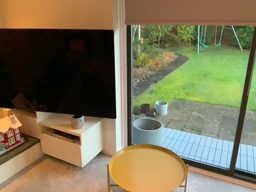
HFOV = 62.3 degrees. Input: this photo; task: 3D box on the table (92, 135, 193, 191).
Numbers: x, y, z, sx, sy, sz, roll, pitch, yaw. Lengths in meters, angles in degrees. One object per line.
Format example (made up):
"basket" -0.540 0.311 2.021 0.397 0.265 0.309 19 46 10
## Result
"table" 0.170 0.740 2.020 0.710 0.280 0.720 10 22 25
